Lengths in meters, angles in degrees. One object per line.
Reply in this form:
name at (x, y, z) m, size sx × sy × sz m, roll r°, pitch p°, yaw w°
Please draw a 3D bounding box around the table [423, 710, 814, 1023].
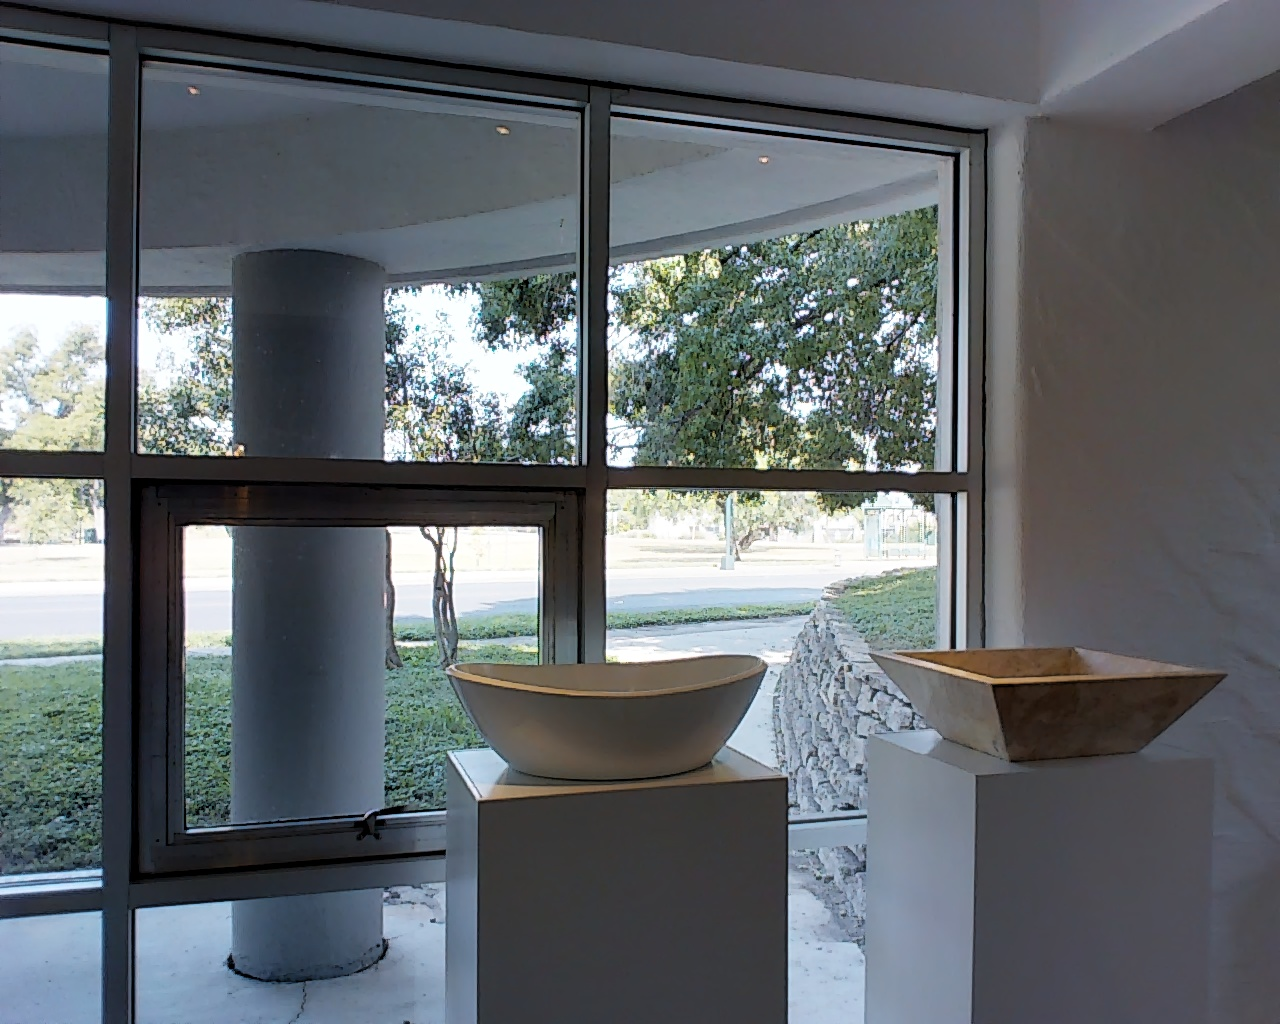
table at (-0.060, 0.930, 1.790) m, size 0.550 × 1.100 × 0.420 m, roll 1°, pitch 0°, yaw -18°
